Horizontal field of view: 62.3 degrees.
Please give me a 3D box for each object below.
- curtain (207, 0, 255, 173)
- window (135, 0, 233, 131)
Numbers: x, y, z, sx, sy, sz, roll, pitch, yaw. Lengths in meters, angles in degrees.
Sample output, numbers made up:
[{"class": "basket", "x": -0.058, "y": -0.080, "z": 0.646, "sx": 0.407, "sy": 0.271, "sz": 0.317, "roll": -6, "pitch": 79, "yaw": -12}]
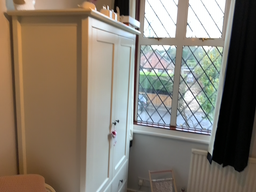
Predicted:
[{"class": "curtain", "x": 1.000, "y": -0.270, "z": 1.830, "sx": 0.400, "sy": 1.860, "sz": 0.160, "roll": 6, "pitch": 11, "yaw": 18}, {"class": "window", "x": 0.530, "y": -0.360, "z": 2.200, "sx": 0.870, "sy": 1.360, "sz": 0.040, "roll": 6, "pitch": 11, "yaw": 19}]
